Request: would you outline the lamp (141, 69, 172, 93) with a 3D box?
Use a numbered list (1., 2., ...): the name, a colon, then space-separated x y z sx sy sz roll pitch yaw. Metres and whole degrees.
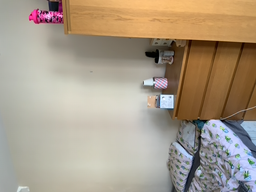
1. lamp: 0.300 -0.170 2.330 0.320 0.260 0.150 -99 12 -66
